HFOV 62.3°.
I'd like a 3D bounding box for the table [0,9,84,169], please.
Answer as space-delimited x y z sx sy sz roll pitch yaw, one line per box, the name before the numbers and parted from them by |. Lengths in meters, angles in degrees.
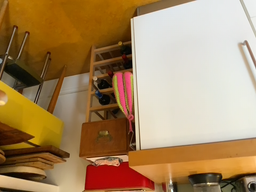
table | -0.690 0.020 1.400 0.440 0.750 0.700 -12 150 18
